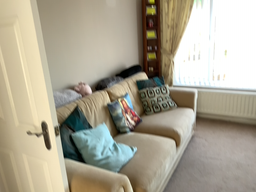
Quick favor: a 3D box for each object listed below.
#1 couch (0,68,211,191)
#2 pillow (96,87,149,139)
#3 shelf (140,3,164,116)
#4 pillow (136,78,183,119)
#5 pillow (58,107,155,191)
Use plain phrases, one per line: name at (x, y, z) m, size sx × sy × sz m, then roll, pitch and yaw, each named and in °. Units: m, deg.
couch at (0.090, 0.360, 2.310) m, size 1.150 × 0.870 × 2.530 m, roll 6°, pitch 19°, yaw 27°
pillow at (-0.040, 0.180, 2.430) m, size 0.230 × 0.400 × 0.540 m, roll -22°, pitch 3°, yaw 33°
shelf at (0.430, -0.580, 3.650) m, size 0.290 × 1.850 × 0.220 m, roll 7°, pitch 20°, yaw 30°
pillow at (0.420, 0.040, 2.890) m, size 0.480 × 0.370 × 0.190 m, roll -25°, pitch -4°, yaw -8°
pillow at (-0.170, 0.420, 1.800) m, size 0.610 × 0.490 × 0.260 m, roll -18°, pitch -38°, yaw -48°
